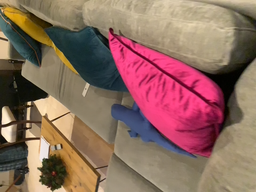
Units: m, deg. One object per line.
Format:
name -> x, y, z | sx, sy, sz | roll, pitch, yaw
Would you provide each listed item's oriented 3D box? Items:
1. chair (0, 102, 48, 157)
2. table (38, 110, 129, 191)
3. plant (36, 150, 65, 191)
chair -> -1.730, 0.460, 3.090 | 0.630, 0.840, 0.480 | 27, 113, 40
table -> -0.540, 0.640, 2.260 | 1.100, 0.360, 0.510 | 31, 116, 39
plant -> -0.790, 0.760, 2.150 | 0.310, 0.130, 0.270 | 32, 116, 39
